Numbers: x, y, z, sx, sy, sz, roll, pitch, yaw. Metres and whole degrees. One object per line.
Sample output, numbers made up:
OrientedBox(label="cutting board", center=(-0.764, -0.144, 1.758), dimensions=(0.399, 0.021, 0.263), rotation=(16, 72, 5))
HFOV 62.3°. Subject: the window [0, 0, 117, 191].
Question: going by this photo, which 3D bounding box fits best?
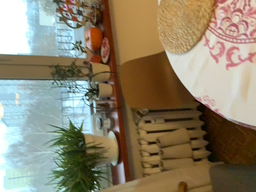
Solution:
OrientedBox(label="window", center=(-1.010, -0.080, 1.480), dimensions=(0.190, 1.680, 2.400), rotation=(136, 129, -60))
